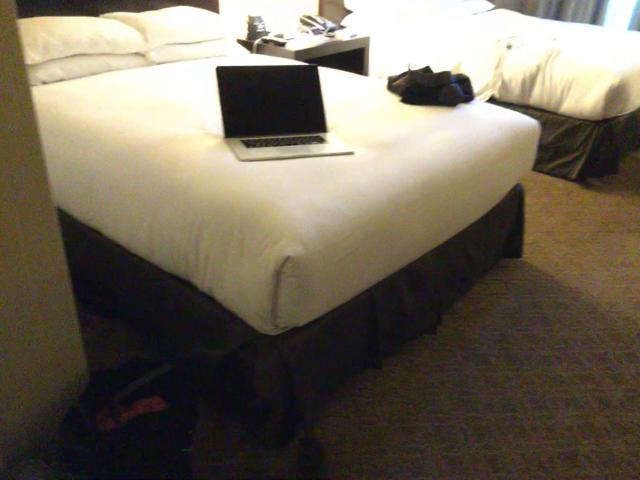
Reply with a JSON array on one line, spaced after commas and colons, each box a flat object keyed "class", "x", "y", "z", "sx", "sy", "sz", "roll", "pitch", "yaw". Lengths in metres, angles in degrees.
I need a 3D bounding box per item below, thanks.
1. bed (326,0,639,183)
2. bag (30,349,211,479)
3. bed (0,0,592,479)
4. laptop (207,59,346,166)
[{"class": "bed", "x": 1.350, "y": -1.370, "z": 4.070, "sx": 2.110, "sy": 1.010, "sz": 1.550, "roll": 22, "pitch": 36, "yaw": 35}, {"class": "bag", "x": -0.470, "y": 0.500, "z": 1.400, "sx": 0.270, "sy": 0.290, "sz": 0.270, "roll": 22, "pitch": 36, "yaw": 35}, {"class": "bed", "x": -0.370, "y": -0.440, "z": 2.430, "sx": 2.170, "sy": 1.040, "sz": 1.670, "roll": 22, "pitch": 36, "yaw": 35}, {"class": "laptop", "x": -0.150, "y": -0.420, "z": 1.830, "sx": 0.350, "sy": 0.210, "sz": 0.400, "roll": -7, "pitch": 29, "yaw": -15}]
